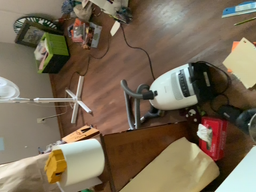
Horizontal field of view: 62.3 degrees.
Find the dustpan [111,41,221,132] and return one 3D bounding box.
[{"bbox_3d":[0.230,-0.030,1.560,0.680,0.290,0.400,-30,70,45],"label":"dustpan"}]

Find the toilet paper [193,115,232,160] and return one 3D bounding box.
[{"bbox_3d":[0.540,0.260,1.370,0.200,0.090,0.230,10,99,48],"label":"toilet paper"}]
